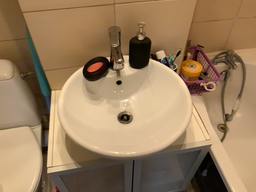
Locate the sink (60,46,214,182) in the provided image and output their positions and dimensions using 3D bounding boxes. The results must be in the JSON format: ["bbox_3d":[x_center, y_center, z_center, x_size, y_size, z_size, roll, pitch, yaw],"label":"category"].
[{"bbox_3d":[-0.010,0.030,0.810,0.450,0.160,0.450,-9,49,-9],"label":"sink"}]

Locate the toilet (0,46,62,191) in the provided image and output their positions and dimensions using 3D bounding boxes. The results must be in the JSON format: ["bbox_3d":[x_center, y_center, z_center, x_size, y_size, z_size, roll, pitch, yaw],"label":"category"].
[{"bbox_3d":[-0.620,0.280,1.080,0.390,0.740,0.700,-9,49,-9],"label":"toilet"}]

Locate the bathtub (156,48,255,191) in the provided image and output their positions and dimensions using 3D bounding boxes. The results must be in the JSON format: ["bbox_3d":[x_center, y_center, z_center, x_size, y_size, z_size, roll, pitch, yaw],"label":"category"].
[{"bbox_3d":[0.690,0.420,1.090,0.670,0.570,1.380,-8,49,-8],"label":"bathtub"}]
